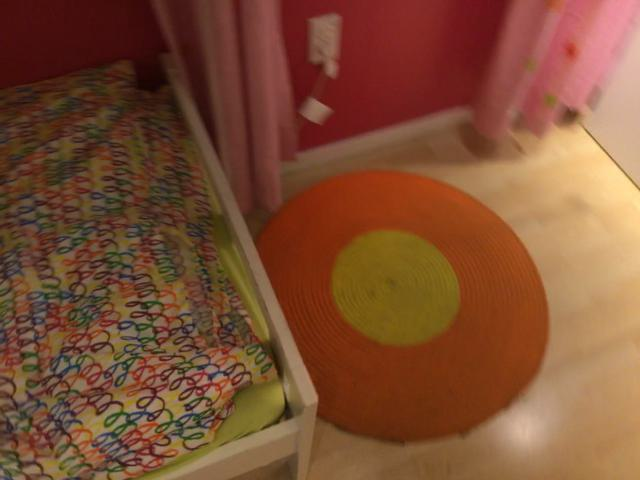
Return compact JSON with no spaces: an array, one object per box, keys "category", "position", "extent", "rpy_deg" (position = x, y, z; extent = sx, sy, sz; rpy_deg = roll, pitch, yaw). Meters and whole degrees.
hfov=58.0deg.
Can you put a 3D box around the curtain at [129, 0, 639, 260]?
[{"category":"curtain","position":[0.330,-0.910,0.690],"extent":[1.360,2.300,0.210],"rpy_deg":[-17,55,-13]}]
